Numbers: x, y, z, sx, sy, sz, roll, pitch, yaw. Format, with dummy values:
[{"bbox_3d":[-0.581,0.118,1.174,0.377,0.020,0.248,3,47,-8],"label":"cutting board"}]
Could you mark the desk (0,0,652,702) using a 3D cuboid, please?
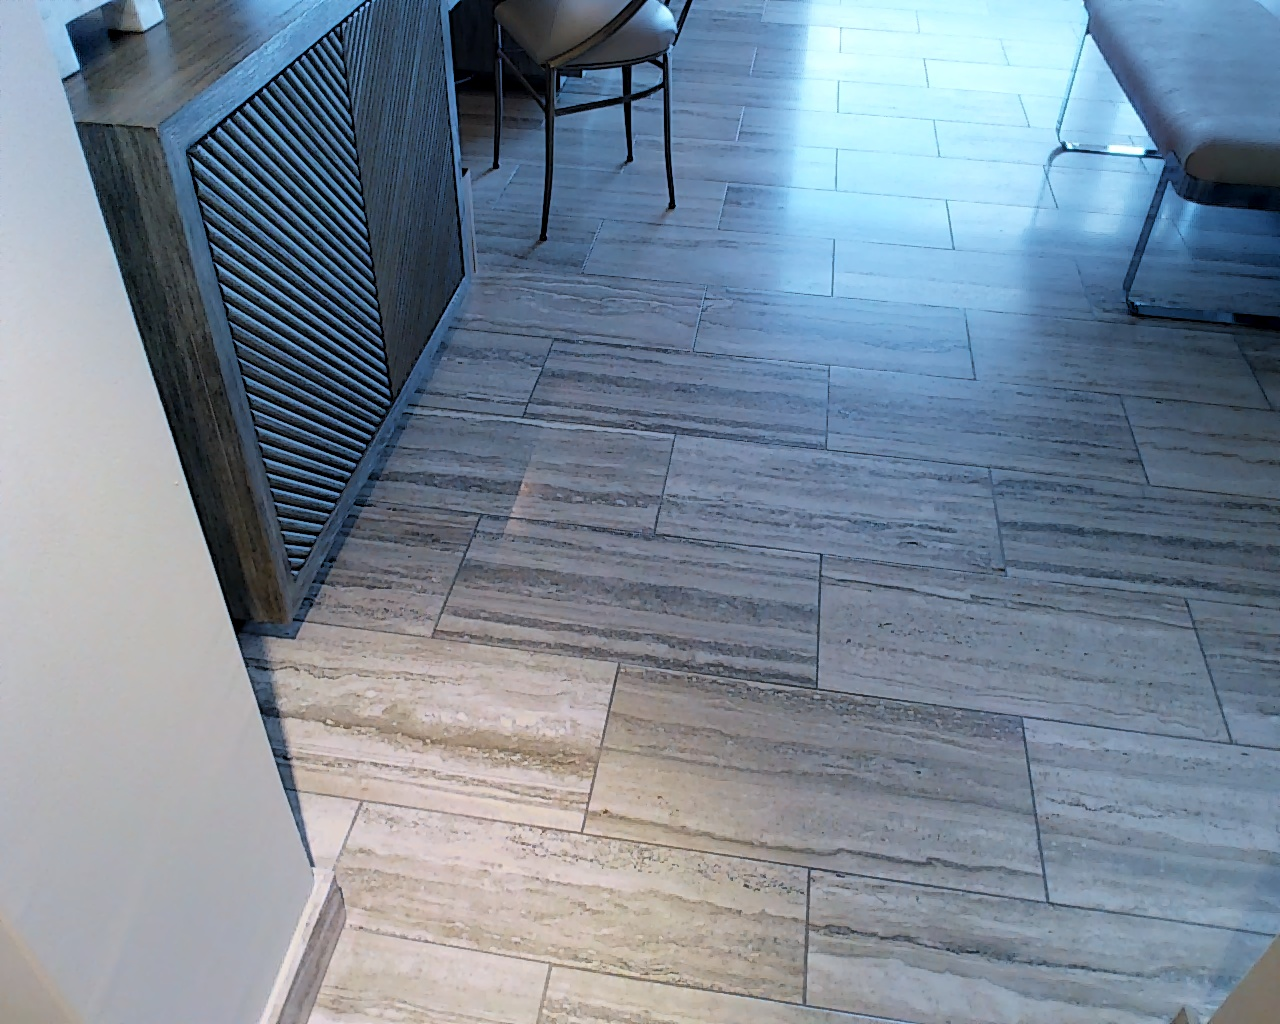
[{"bbox_3d":[-0.570,-1.230,2.750,0.730,0.900,3.580,6,40,6],"label":"desk"}]
